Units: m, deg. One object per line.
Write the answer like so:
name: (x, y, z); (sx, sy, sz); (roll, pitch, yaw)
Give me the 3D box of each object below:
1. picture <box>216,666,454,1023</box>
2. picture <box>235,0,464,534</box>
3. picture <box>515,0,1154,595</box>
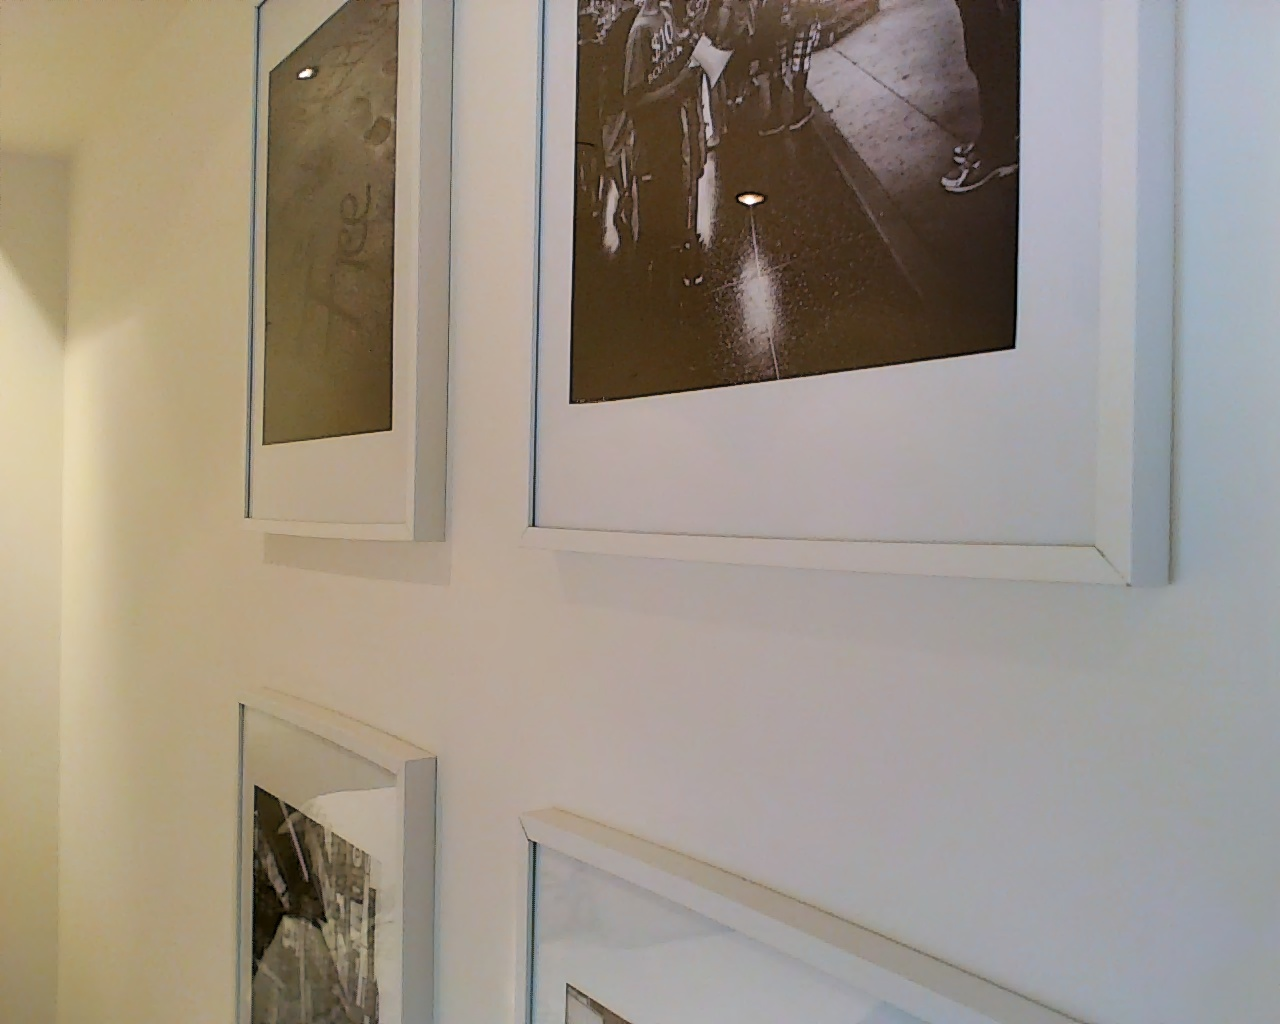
picture: (-0.380, 0.600, 1.260); (0.070, 0.770, 0.540); (1, 0, -37)
picture: (-0.370, -0.360, 1.290); (0.060, 0.760, 0.580); (1, 0, -36)
picture: (0.070, -0.330, 0.690); (0.050, 0.730, 0.510); (1, 0, -36)
